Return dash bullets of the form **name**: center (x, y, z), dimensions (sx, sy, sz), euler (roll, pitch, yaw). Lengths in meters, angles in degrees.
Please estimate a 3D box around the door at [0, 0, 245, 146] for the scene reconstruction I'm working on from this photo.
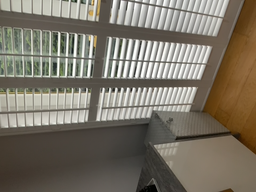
- **door**: center (-0.120, -0.390, 1.460), dimensions (0.080, 2.080, 1.650), euler (-127, 43, -52)
